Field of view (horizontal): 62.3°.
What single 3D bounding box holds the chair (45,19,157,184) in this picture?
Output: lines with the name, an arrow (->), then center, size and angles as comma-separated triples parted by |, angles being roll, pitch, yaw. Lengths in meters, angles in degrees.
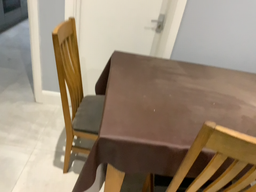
chair -> -0.210, 0.070, 1.470 | 0.530, 0.980, 0.490 | 8, 33, -6

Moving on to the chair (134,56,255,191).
chair -> 0.340, 0.410, 1.090 | 0.480, 1.010, 0.540 | 12, 33, 1
